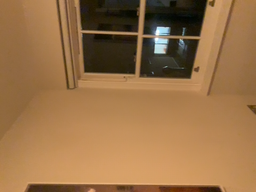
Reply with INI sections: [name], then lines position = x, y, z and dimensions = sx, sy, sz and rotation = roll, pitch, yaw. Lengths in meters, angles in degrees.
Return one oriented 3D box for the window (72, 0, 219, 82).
[window]
position = 0.130, -0.550, 1.910
dimensions = 0.110, 1.190, 0.850
rotation = -92, 4, -59
